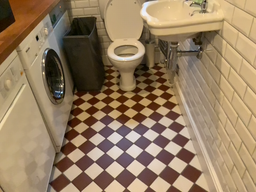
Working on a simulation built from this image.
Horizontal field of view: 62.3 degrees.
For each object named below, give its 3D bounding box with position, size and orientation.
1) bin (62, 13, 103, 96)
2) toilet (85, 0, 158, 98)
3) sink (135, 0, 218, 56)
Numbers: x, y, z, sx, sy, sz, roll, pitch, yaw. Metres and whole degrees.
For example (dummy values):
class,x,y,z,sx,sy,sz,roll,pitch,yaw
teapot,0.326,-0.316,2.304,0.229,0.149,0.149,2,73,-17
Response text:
class,x,y,z,sx,sy,sz,roll,pitch,yaw
bin,-0.420,-0.440,2.170,0.240,0.600,0.650,-4,37,-1
toilet,-0.030,-0.580,2.070,0.530,0.940,0.710,-3,37,1
sink,0.230,-0.420,1.200,0.360,0.180,0.460,-3,37,1
